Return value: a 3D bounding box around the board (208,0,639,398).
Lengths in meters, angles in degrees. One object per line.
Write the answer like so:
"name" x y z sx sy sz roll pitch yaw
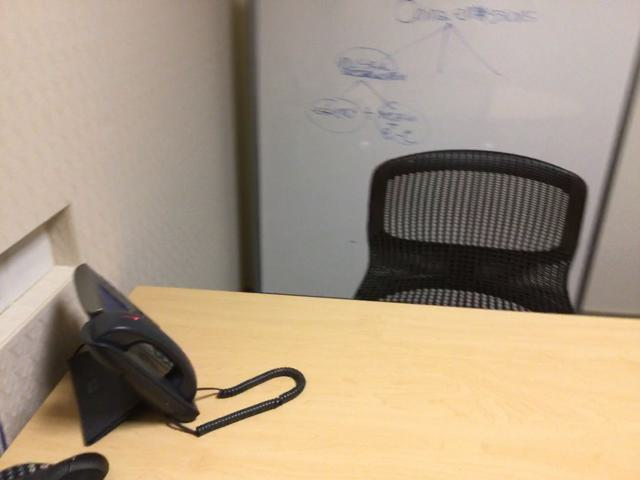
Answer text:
"board" 0.340 -0.180 1.880 1.230 1.360 0.360 2 25 6

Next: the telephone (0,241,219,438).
"telephone" -0.320 0.140 0.900 0.250 0.180 0.250 2 25 6

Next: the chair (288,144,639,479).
"chair" 0.240 0.320 1.220 0.490 0.890 0.620 2 25 6
